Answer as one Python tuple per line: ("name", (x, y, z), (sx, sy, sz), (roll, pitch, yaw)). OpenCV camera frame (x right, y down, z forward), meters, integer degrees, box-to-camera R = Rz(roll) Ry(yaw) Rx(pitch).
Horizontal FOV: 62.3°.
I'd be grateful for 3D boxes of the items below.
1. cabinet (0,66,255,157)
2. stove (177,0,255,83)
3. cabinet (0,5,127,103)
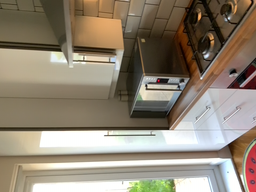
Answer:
("cabinet", (-0.110, 0.190, 2.080), (0.630, 2.540, 0.570), (109, 160, -55))
("stove", (0.450, -0.470, 1.160), (0.620, 0.020, 0.530), (109, 160, -55))
("cabinet", (-0.660, -0.260, 1.500), (0.580, 1.200, 0.340), (109, 160, -55))
